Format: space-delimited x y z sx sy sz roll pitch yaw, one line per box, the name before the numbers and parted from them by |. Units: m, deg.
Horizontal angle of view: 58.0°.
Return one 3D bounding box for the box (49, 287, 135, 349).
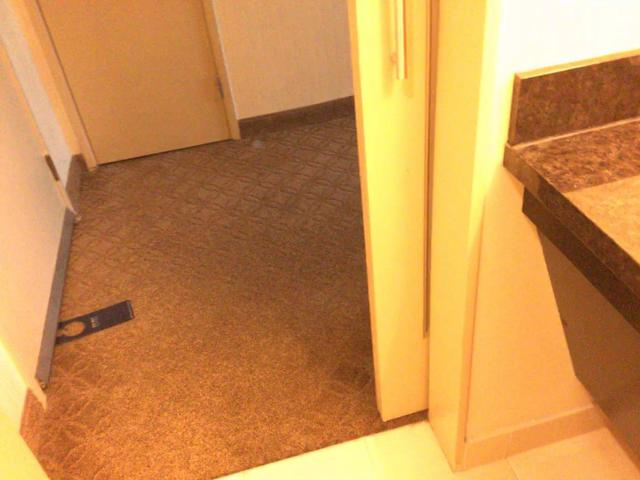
box | -0.710 0.240 1.810 0.240 0.050 0.140 -15 39 -10
